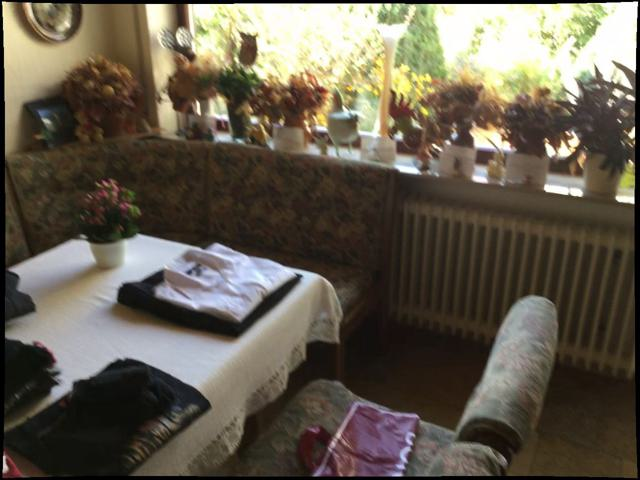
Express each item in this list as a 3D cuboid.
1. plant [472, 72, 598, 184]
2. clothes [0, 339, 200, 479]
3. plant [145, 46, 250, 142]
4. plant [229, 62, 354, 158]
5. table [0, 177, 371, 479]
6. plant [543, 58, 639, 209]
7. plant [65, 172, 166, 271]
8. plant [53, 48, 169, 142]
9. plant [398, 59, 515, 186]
[{"bbox_3d":[0.819,-0.440,2.210,0.370,0.330,0.270,12,27,24],"label":"plant"},{"bbox_3d":[-0.430,0.330,1.130,0.240,0.080,0.330,10,22,19],"label":"clothes"},{"bbox_3d":[-0.579,-0.711,2.780,0.390,0.380,0.260,12,27,24],"label":"plant"},{"bbox_3d":[-0.120,-0.601,2.610,0.440,0.320,0.340,12,27,24],"label":"plant"},{"bbox_3d":[-0.629,0.521,1.470,0.969,0.821,1.530,12,27,24],"label":"table"},{"bbox_3d":[1.009,-0.390,2.070,0.290,0.450,0.280,12,27,24],"label":"plant"},{"bbox_3d":[-0.599,-0.060,1.710,0.200,0.220,0.160,12,27,24],"label":"plant"},{"bbox_3d":[-0.949,-0.681,2.670,0.290,0.340,0.360,12,27,24],"label":"plant"},{"bbox_3d":[0.529,-0.470,2.260,0.340,0.400,0.300,12,27,24],"label":"plant"}]
